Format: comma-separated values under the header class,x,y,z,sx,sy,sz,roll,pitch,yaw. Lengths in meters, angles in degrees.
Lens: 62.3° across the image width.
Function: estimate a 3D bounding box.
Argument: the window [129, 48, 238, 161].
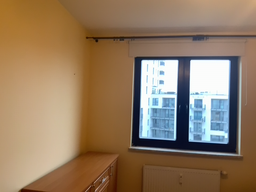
class,x,y,z,sx,sy,sz,roll,pitch,yaw
window,0.760,0.090,3.030,1.430,1.500,0.180,2,-2,8
